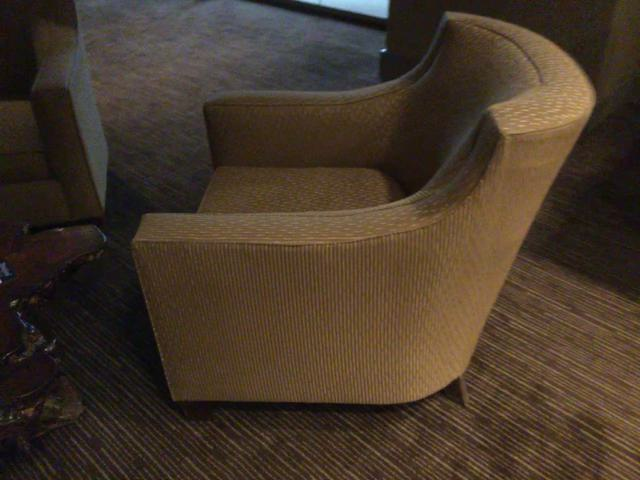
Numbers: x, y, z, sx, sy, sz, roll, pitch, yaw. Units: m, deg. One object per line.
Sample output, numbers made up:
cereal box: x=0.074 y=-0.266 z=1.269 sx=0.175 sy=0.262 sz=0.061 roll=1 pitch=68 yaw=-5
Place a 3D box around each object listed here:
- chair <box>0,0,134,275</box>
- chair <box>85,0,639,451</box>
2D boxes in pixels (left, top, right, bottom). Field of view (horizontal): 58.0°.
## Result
chair: x=-1.290 y=-0.530 z=2.180 sx=0.960 sy=0.890 sz=1.070 roll=-8 pitch=35 yaw=-15
chair: x=0.090 y=-0.100 z=1.590 sx=0.980 sy=0.880 sz=0.890 roll=2 pitch=33 yaw=0
